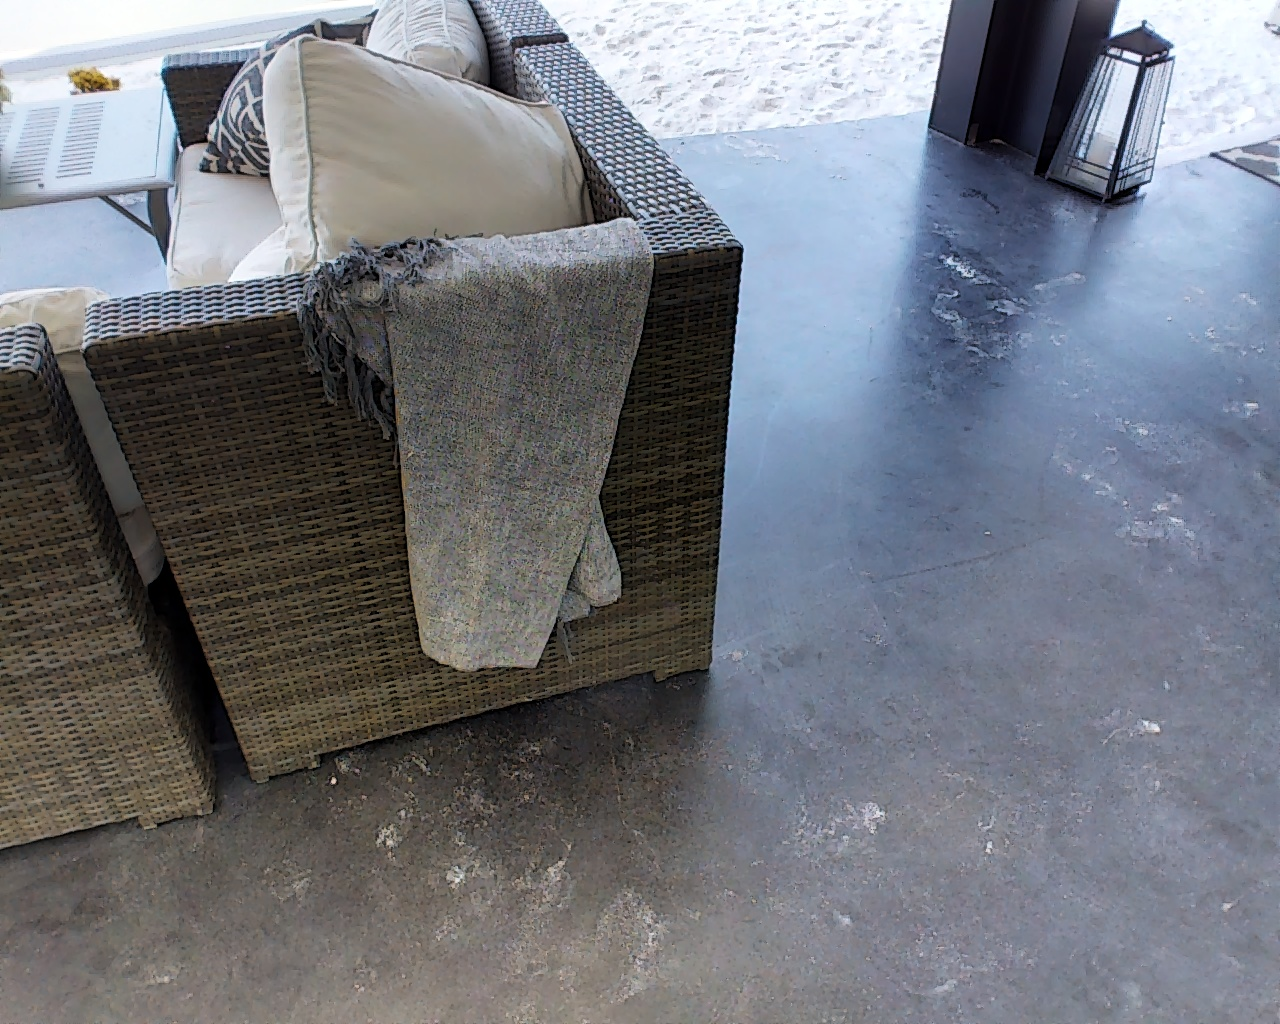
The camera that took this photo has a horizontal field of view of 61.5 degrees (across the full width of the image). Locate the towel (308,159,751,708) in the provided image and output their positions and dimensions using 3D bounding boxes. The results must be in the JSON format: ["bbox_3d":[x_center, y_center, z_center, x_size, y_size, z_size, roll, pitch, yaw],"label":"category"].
[{"bbox_3d":[-0.150,-0.100,1.640,0.520,0.720,0.270,-14,44,-15],"label":"towel"}]
